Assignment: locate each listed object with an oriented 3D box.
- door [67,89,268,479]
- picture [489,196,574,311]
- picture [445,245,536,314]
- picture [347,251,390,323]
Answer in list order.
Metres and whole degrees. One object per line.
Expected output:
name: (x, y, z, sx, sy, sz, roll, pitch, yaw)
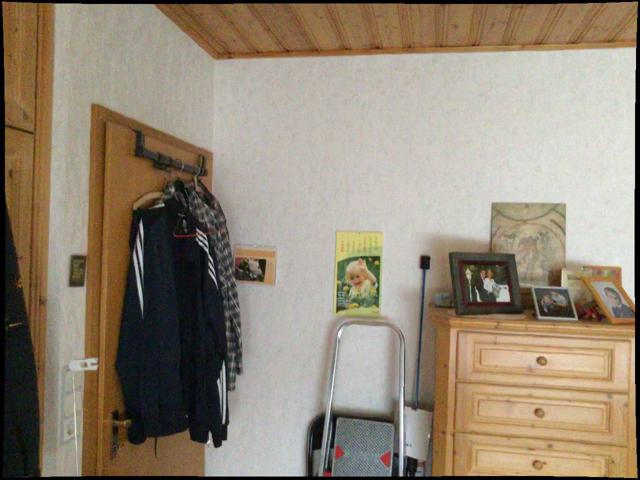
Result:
door: (-0.509, 0.581, 2.170, 0.250, 2.042, 1.010, 3, 2, 13)
picture: (0.859, 0.050, 2.360, 0.300, 0.450, 0.060, 3, 2, 13)
picture: (0.629, 0.140, 2.170, 0.300, 0.220, 0.220, 3, 2, 12)
picture: (0.210, 0.200, 2.490, 0.170, 0.300, 0.040, 3, 2, 12)
